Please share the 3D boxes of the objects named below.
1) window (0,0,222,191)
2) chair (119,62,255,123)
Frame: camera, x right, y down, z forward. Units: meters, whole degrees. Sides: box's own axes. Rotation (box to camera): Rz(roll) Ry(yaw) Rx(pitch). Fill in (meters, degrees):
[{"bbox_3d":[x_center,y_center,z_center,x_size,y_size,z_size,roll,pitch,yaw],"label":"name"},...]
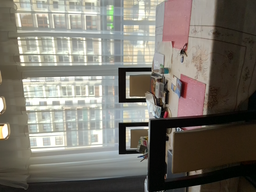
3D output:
[{"bbox_3d":[-0.400,-0.100,2.400,0.180,2.850,2.650,-127,37,-74],"label":"window"},{"bbox_3d":[0.480,-0.070,1.810,0.560,1.050,0.390,-127,37,-74],"label":"chair"}]
